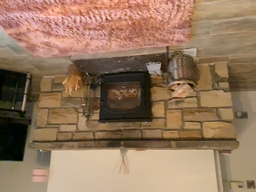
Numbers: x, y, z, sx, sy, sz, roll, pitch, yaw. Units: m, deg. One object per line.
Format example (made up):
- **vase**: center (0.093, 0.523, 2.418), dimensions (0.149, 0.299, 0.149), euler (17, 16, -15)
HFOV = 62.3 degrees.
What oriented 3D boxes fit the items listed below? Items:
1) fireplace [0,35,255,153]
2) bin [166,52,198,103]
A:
- **fireplace**: center (-0.030, 0.130, 2.510), dimensions (2.360, 0.980, 1.110), euler (-3, 161, 10)
- **bin**: center (0.570, -0.190, 2.310), dimensions (0.290, 0.440, 0.320), euler (-2, 161, 9)
